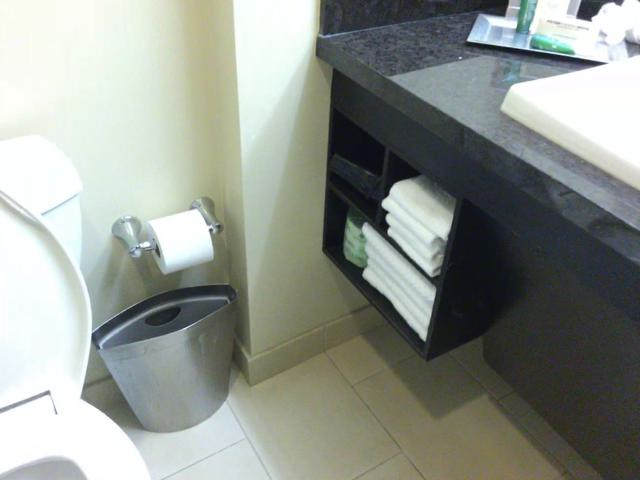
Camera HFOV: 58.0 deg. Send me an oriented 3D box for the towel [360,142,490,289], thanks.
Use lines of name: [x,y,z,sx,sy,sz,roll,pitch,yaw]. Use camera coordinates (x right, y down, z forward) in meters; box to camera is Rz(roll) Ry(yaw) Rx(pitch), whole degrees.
towel: [0.180,-0.050,1.050,0.090,0.160,0.220,-19,42,-26]

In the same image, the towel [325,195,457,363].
towel: [0.130,0.070,1.210,0.040,0.170,0.370,-19,42,-26]
